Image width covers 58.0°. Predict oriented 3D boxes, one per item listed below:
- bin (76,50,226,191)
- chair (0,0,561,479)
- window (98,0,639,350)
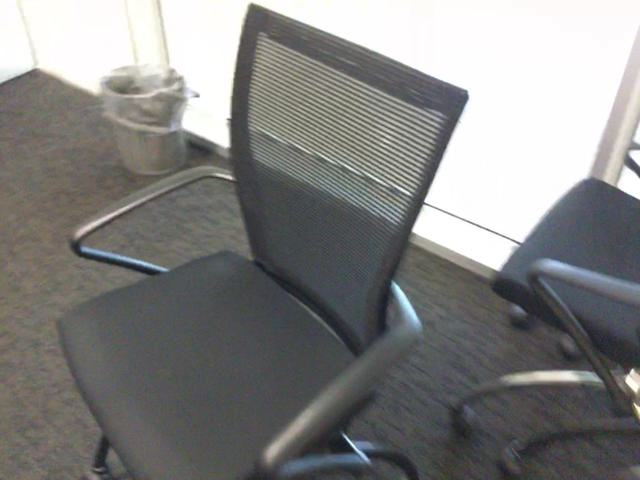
[{"bbox_3d":[-0.630,-0.470,2.220,0.370,0.340,0.360,25,42,26],"label":"bin"},{"bbox_3d":[-0.190,0.090,1.040,0.620,0.850,0.750,-28,47,-34],"label":"chair"},{"bbox_3d":[0.080,-0.620,1.810,1.940,1.170,0.380,25,42,26],"label":"window"}]
